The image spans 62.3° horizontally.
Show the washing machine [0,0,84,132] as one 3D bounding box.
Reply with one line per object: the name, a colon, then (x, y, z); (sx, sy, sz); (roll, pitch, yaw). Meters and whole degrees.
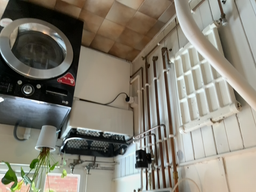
washing machine: (-0.810, -0.240, 1.790); (0.580, 0.840, 0.770); (13, 151, -24)
